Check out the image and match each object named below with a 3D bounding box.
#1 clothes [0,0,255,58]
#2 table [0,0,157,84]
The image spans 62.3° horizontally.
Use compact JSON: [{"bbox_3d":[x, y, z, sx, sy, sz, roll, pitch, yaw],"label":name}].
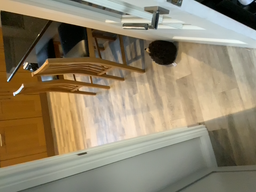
[{"bbox_3d":[-0.110,-0.320,0.800,0.810,1.950,0.130,22,109,45],"label":"clothes"},{"bbox_3d":[-0.660,-0.690,2.230,1.630,0.900,0.680,-21,77,47],"label":"table"}]
